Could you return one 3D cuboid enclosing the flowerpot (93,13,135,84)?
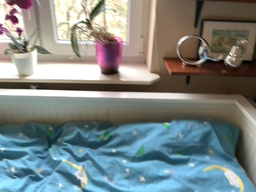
[{"bbox_3d":[-0.080,-0.270,1.200,0.200,0.330,0.240,1,30,-4],"label":"flowerpot"}]
